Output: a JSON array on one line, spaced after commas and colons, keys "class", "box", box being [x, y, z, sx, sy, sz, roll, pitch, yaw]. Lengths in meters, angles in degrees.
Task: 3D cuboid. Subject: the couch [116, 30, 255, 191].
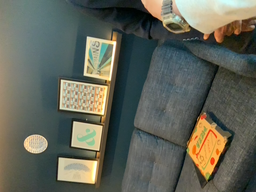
[{"class": "couch", "box": [0.550, 0.500, 1.790, 1.010, 0.930, 1.820, -114, 32, -66]}]

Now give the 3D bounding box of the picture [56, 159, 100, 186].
[{"class": "picture", "box": [-0.520, 0.800, 2.210, 0.030, 0.410, 0.300, -120, 41, -66]}]
